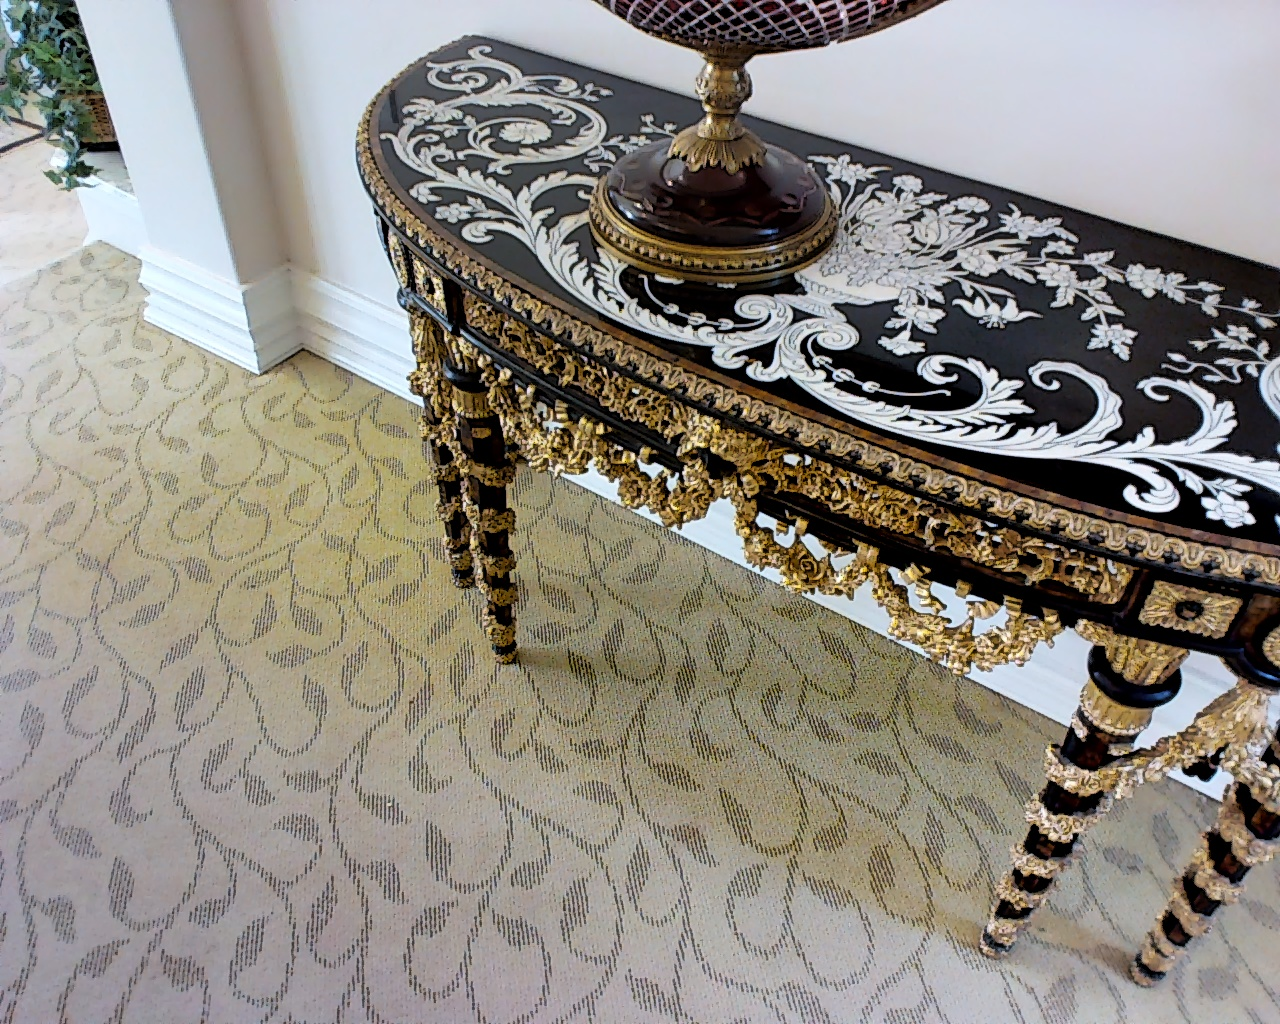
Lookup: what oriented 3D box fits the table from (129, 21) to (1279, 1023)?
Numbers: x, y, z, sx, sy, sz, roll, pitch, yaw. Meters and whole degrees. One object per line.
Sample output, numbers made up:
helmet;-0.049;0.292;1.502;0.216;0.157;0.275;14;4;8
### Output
table;0.240;-0.010;1.470;1.810;0.790;0.620;25;47;25
